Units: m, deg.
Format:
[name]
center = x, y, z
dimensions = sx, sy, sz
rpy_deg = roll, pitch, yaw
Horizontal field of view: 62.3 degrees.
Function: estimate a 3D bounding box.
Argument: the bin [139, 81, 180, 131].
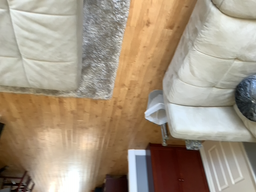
[bin]
center = 0.320, 0.110, 2.310
dimensions = 0.330, 0.460, 0.290
rpy_deg = 2, 143, -8
